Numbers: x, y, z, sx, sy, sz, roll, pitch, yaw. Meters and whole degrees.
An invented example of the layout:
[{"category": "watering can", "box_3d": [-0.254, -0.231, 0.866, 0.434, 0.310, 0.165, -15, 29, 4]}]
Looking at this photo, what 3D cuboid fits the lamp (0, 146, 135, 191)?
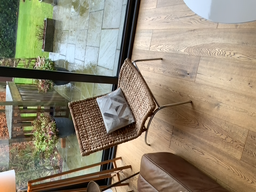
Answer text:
[{"category": "lamp", "box_3d": [-0.700, 0.900, 2.200, 0.380, 1.550, 0.460, 29, 112, 52]}]
